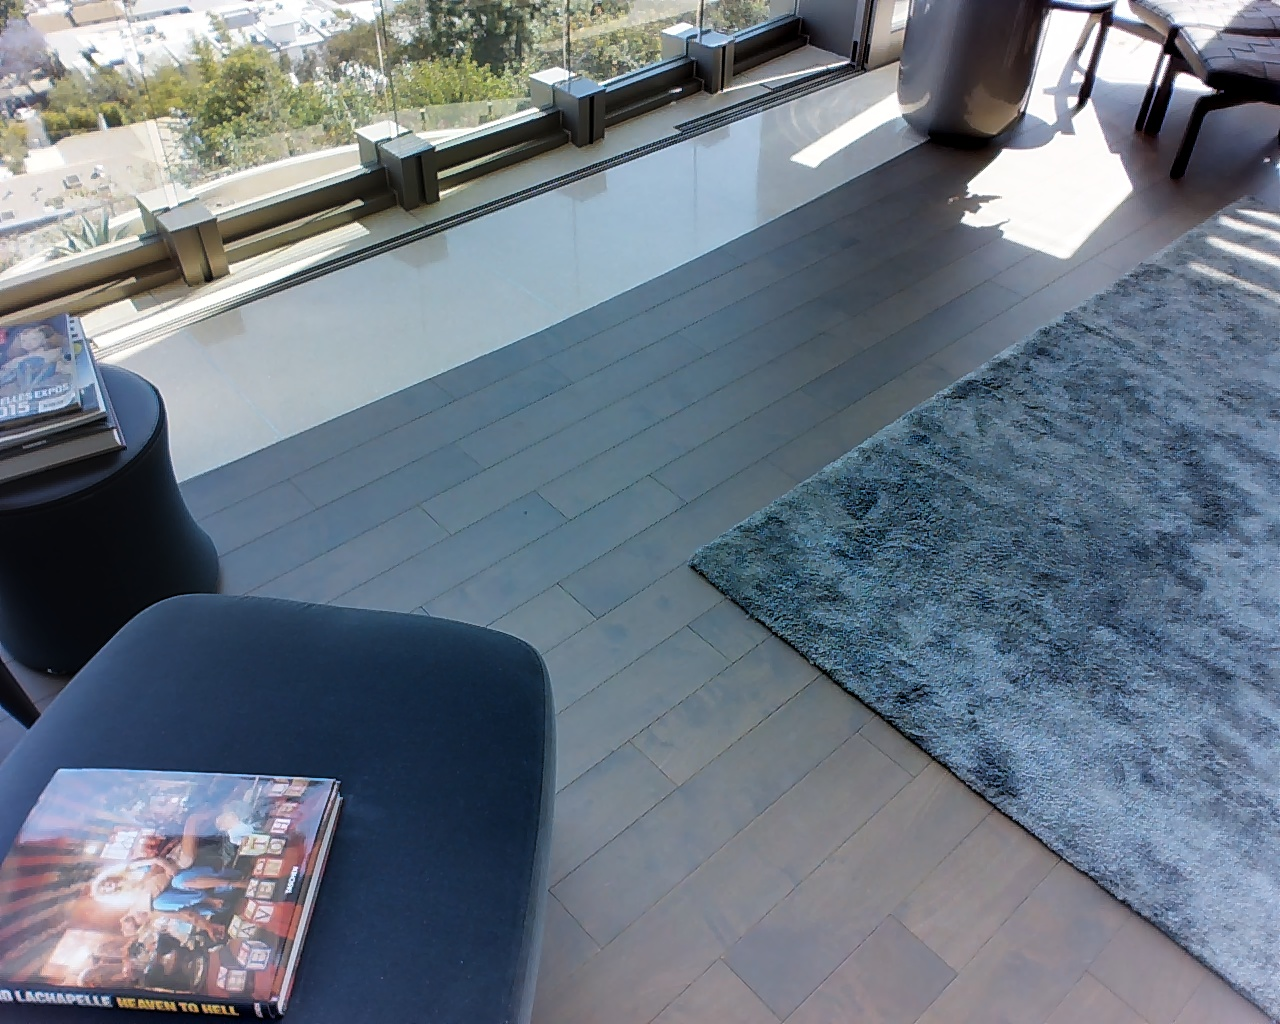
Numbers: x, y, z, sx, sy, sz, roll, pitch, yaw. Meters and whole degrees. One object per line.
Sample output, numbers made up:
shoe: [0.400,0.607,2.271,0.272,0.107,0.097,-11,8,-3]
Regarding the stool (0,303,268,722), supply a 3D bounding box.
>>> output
stool: [-1.050,-0.010,1.940,0.460,0.490,0.480,11,43,10]
